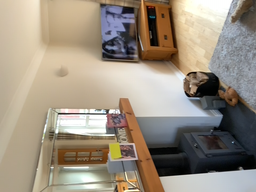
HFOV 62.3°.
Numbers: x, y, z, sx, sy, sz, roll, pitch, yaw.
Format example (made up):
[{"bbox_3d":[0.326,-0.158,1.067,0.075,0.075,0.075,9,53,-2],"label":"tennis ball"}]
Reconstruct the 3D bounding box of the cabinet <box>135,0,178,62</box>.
[{"bbox_3d":[0.490,-1.180,3.810,0.360,0.570,1.040,128,141,-67],"label":"cabinet"}]

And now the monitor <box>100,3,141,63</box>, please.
[{"bbox_3d":[-0.150,-1.120,3.760,0.080,0.680,1.100,128,141,-67],"label":"monitor"}]
